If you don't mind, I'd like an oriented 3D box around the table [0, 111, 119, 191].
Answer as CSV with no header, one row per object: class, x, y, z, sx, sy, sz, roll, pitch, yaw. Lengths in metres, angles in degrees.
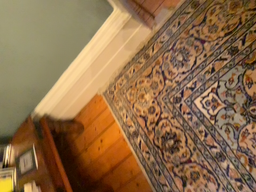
table,-0.510,0.530,1.350,0.610,0.410,0.600,-43,62,23
